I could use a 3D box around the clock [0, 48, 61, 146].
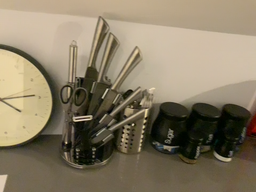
[{"bbox_3d":[-0.350,0.010,0.580,0.290,0.290,0.040,9,33,-14],"label":"clock"}]
